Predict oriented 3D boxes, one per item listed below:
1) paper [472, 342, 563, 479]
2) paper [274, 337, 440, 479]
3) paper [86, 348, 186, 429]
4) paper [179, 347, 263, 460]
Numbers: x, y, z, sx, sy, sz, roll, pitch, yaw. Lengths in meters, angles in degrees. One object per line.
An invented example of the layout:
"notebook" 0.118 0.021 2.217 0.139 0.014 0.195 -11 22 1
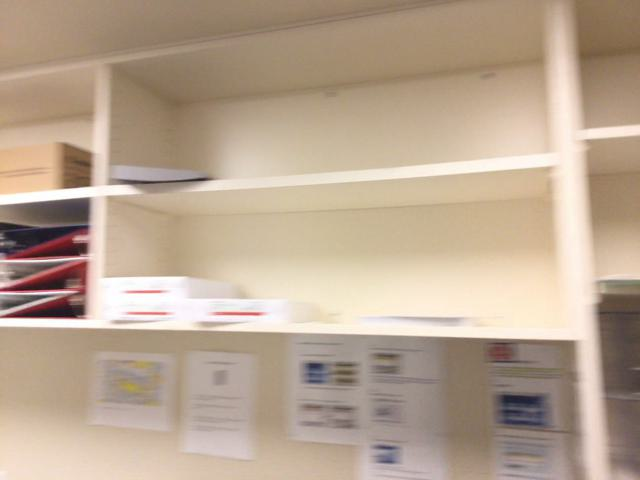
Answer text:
"paper" 0.450 0.390 1.330 0.190 0.300 0.030 -2 -13 20
"paper" 0.090 0.490 1.430 0.400 0.480 0.070 -2 -13 20
"paper" -0.540 0.430 1.690 0.300 0.210 0.030 -2 -13 20
"paper" -0.270 0.440 1.580 0.220 0.280 0.030 -2 -13 20
